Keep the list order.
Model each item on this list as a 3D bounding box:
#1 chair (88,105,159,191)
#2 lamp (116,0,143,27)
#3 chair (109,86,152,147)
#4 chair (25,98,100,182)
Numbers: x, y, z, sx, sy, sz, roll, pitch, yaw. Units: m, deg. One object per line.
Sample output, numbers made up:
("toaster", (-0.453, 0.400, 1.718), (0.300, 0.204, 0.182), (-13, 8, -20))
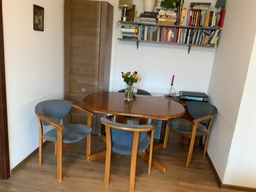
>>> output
("chair", (-0.030, 0.550, 2.350), (0.570, 0.670, 0.600), (9, 15, 14))
("lamp", (0.030, -1.320, 3.150), (0.350, 0.520, 0.190), (8, 15, 7))
("chair", (0.050, 0.290, 3.330), (0.520, 0.720, 0.600), (8, 15, 8))
("chair", (-0.750, 0.450, 2.460), (0.570, 0.670, 0.570), (13, 16, 28))
